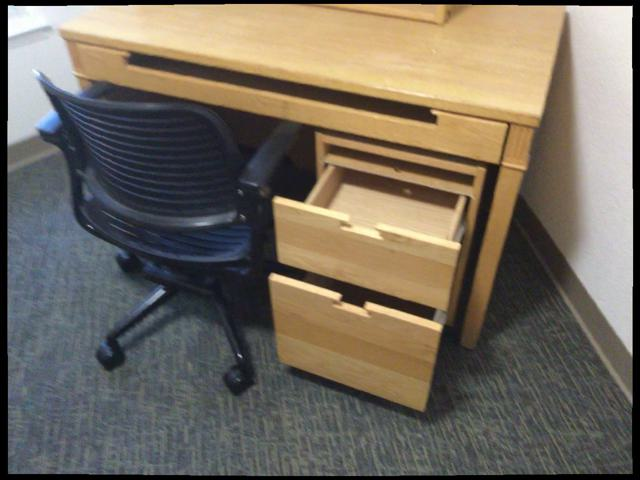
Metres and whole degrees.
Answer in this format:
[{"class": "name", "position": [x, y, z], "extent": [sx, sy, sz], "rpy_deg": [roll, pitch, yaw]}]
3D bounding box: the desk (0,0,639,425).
[{"class": "desk", "position": [-0.020, -0.431, 1.840], "extent": [1.268, 1.391, 1.361], "rpy_deg": [-3, 43, -2]}]
